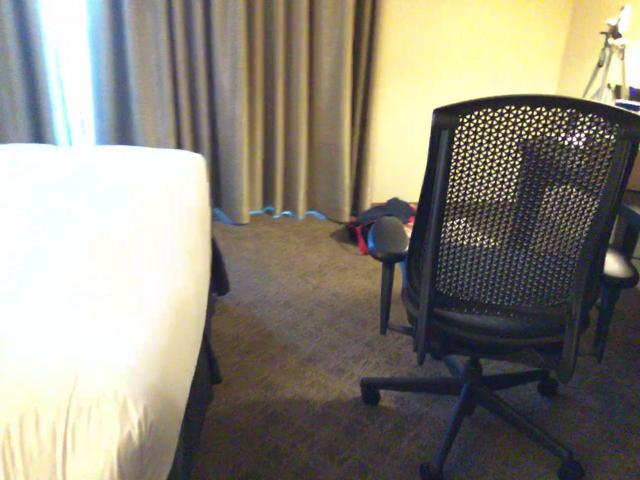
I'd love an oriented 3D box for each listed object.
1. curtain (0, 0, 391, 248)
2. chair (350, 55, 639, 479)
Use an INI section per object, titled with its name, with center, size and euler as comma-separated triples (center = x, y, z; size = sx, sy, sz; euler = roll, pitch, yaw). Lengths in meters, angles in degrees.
[curtain]
center = -1.160, -0.780, 2.730
size = 2.880, 1.560, 0.490
euler = -1, 25, -7
[chair]
center = 0.460, 0.090, 1.620
size = 0.660, 1.070, 0.650
euler = 1, 25, -2
